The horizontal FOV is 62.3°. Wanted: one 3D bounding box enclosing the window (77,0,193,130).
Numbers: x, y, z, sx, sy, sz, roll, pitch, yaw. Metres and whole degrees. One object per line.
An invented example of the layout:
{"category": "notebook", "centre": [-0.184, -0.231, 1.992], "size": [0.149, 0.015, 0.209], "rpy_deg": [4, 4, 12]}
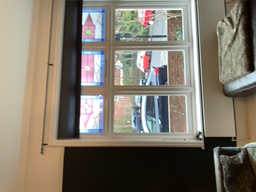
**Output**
{"category": "window", "centre": [0.090, -0.530, 3.260], "size": [0.100, 1.680, 2.060], "rpy_deg": [89, 180, -81]}

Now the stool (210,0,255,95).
{"category": "stool", "centre": [1.370, -0.610, 2.450], "size": [1.040, 0.380, 1.050], "rpy_deg": [93, 176, -82]}
